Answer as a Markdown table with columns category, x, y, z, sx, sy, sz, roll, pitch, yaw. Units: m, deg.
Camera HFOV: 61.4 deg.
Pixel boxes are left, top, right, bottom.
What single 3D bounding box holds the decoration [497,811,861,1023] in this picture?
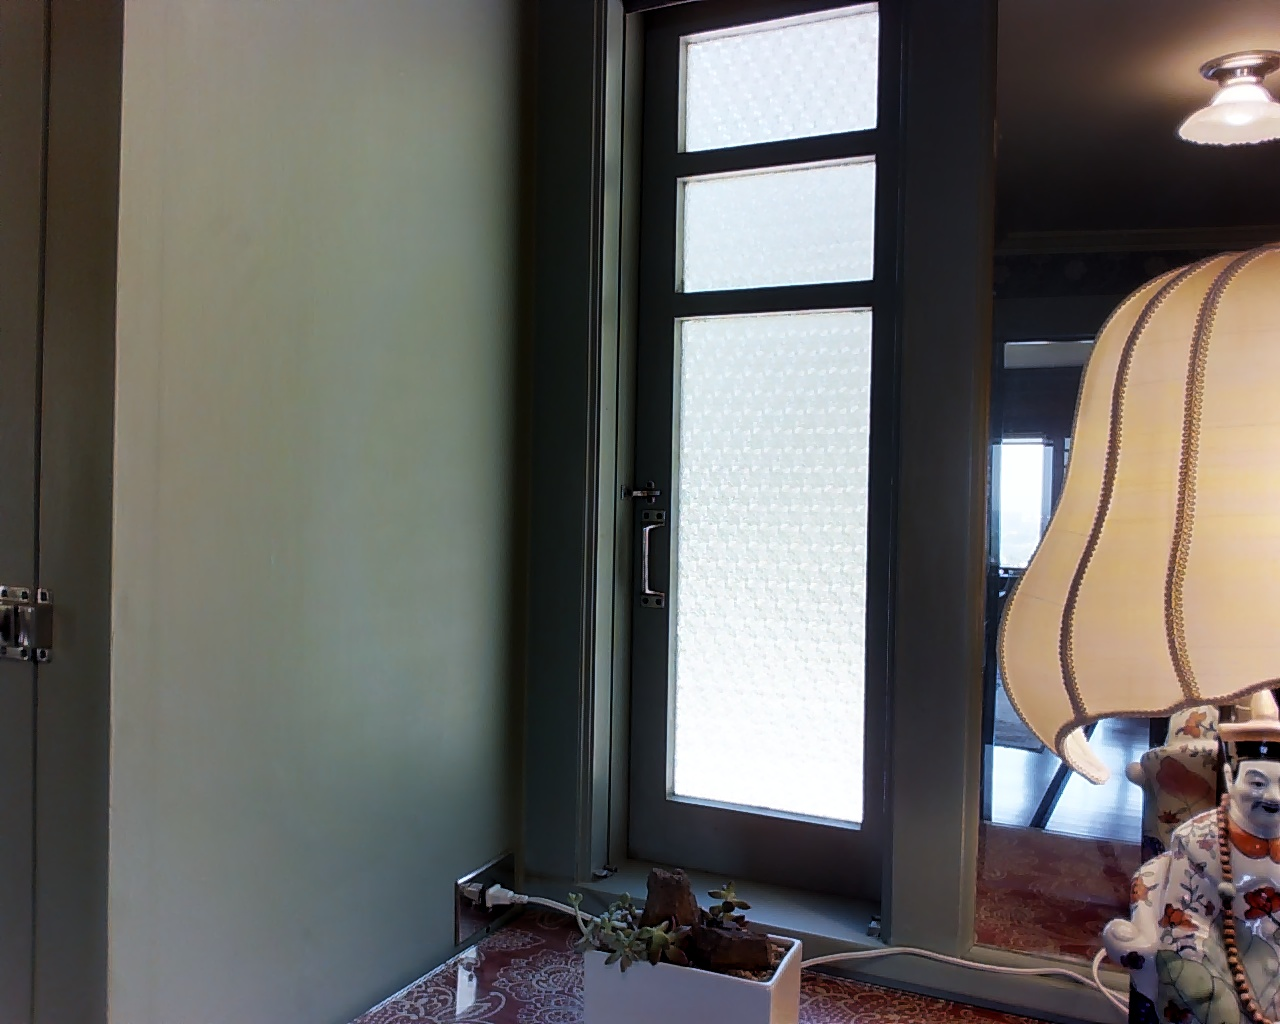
| category | x | y | z | sx | sy | sz | roll | pitch | yaw |
| --- | --- | --- | --- | --- | --- | --- | --- | --- | --- |
| decoration | 0.040 | 0.390 | 0.960 | 0.270 | 0.160 | 0.190 | 3 | 1 | 22 |
